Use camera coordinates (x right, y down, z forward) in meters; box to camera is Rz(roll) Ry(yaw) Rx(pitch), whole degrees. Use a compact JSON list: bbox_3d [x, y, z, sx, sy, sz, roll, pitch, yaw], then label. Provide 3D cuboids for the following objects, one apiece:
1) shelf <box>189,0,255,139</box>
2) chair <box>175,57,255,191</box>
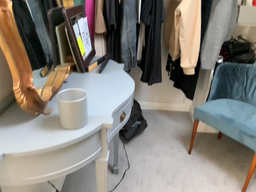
[{"bbox_3d":[0.860,-0.370,1.690,0.410,1.440,0.370,5,27,2],"label":"shelf"},{"bbox_3d":[0.760,0.170,1.460,0.520,0.690,0.540,-16,33,-33],"label":"chair"}]
